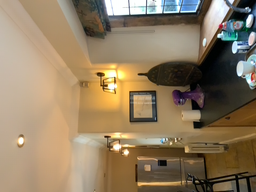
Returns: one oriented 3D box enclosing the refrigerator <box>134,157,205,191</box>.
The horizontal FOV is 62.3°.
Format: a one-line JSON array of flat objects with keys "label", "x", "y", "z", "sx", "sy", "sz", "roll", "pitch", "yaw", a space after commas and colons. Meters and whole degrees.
[{"label": "refrigerator", "x": 1.080, "y": 2.170, "z": 5.950, "sx": 0.780, "sy": 1.790, "sz": 0.870, "roll": 82, "pitch": -173, "yaw": -71}]
